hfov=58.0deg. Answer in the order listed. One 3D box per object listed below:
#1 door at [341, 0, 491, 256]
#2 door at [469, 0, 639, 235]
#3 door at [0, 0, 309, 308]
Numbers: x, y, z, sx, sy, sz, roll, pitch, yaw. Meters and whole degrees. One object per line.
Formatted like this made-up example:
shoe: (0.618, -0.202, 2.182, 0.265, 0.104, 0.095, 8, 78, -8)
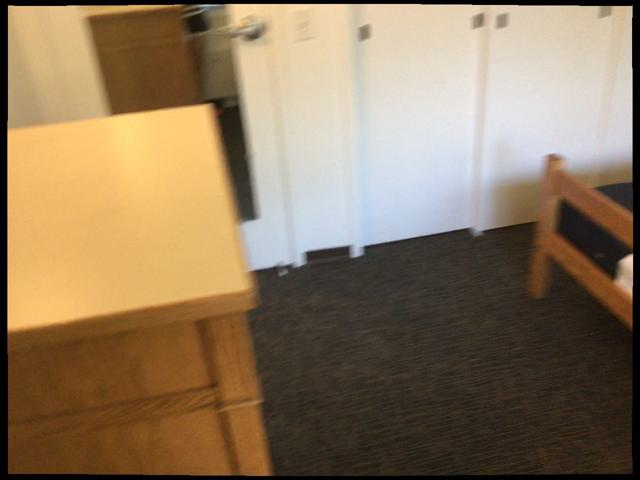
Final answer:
door: (0.389, -0.872, 2.340, 0.589, 2.033, 0.110, -10, 31, -10)
door: (1.038, -0.952, 2.440, 0.639, 1.963, 0.140, -9, 31, -10)
door: (-0.619, -0.701, 2.110, 1.018, 2.013, 0.190, -9, 31, -10)
